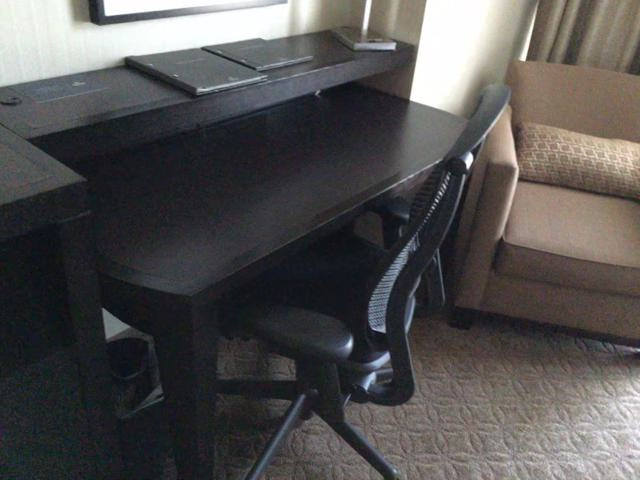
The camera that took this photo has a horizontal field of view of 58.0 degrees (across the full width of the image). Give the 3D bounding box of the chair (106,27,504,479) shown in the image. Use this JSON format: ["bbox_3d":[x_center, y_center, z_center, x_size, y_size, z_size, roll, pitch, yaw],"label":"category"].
[{"bbox_3d":[-0.030,0.110,1.510,0.690,1.090,0.590,15,31,14],"label":"chair"}]
